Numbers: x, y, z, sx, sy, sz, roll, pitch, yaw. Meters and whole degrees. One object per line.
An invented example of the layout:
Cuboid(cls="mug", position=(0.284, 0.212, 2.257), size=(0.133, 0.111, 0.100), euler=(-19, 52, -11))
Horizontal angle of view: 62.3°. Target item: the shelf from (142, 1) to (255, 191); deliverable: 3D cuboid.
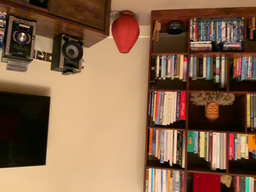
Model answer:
Cuboid(cls="shelf", position=(0.850, 0.110, 2.010), size=(1.330, 1.870, 0.380), euler=(2, 175, 12))

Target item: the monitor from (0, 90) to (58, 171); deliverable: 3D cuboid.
Cuboid(cls="monitor", position=(-1.160, 0.250, 1.690), size=(1.070, 0.640, 0.060), euler=(14, 168, -34))
